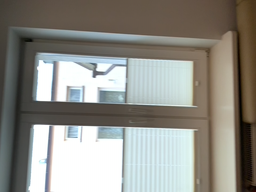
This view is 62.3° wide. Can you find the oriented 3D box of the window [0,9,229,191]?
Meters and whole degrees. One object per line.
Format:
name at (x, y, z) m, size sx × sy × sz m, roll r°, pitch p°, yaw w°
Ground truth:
window at (-0.080, 0.260, 1.440) m, size 0.190 × 1.480 × 1.580 m, roll 135°, pitch 136°, yaw -83°
